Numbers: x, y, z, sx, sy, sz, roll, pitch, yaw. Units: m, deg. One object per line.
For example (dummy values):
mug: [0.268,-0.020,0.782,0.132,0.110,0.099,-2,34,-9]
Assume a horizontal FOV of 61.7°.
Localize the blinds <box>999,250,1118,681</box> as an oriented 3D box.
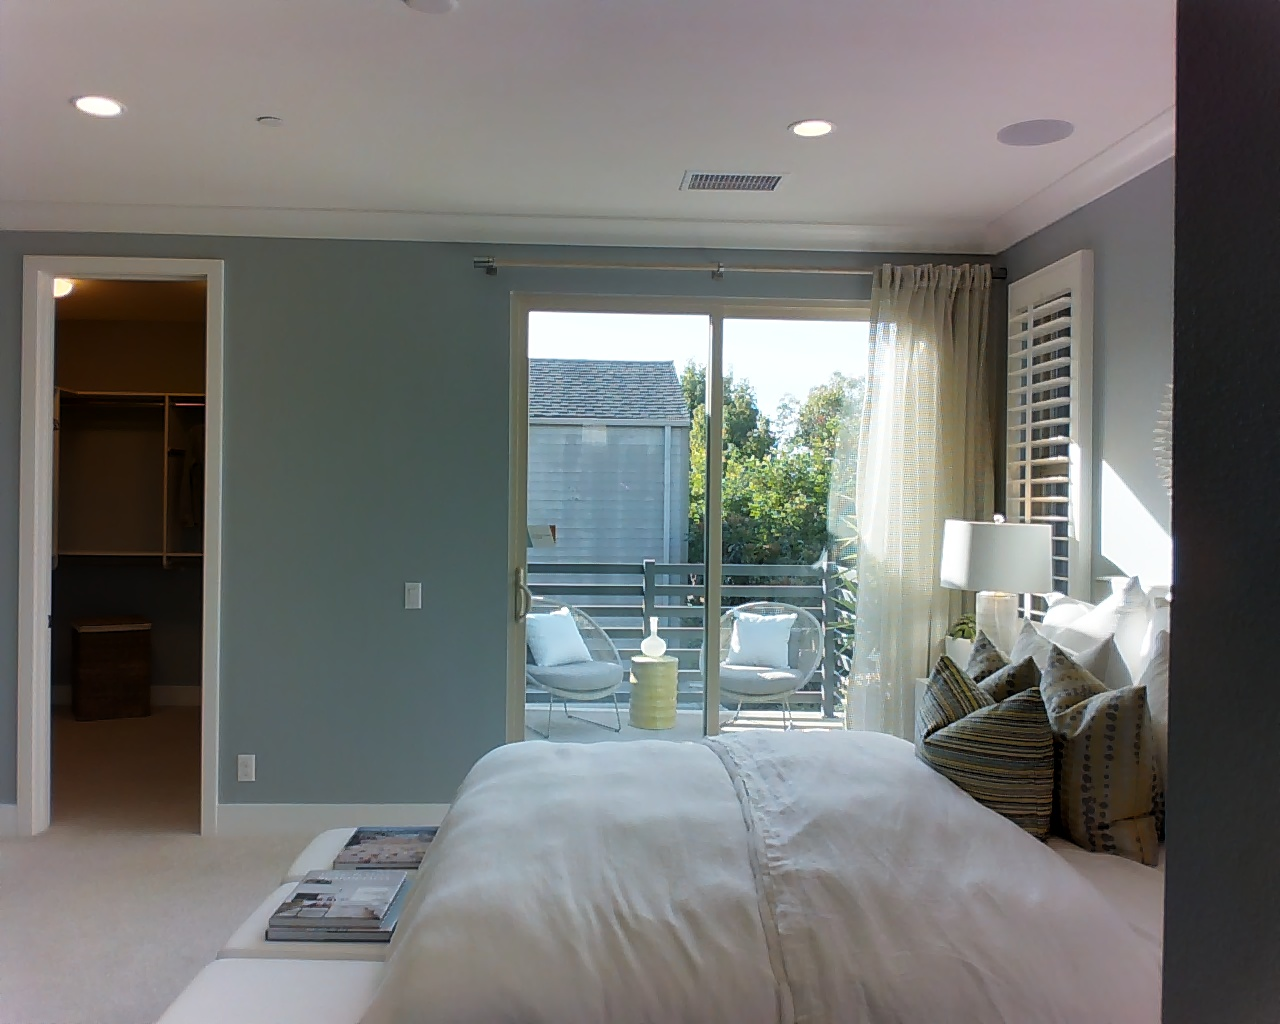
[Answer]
blinds: [1.679,-0.170,4.350,0.130,1.601,0.730,1,0,-4]
